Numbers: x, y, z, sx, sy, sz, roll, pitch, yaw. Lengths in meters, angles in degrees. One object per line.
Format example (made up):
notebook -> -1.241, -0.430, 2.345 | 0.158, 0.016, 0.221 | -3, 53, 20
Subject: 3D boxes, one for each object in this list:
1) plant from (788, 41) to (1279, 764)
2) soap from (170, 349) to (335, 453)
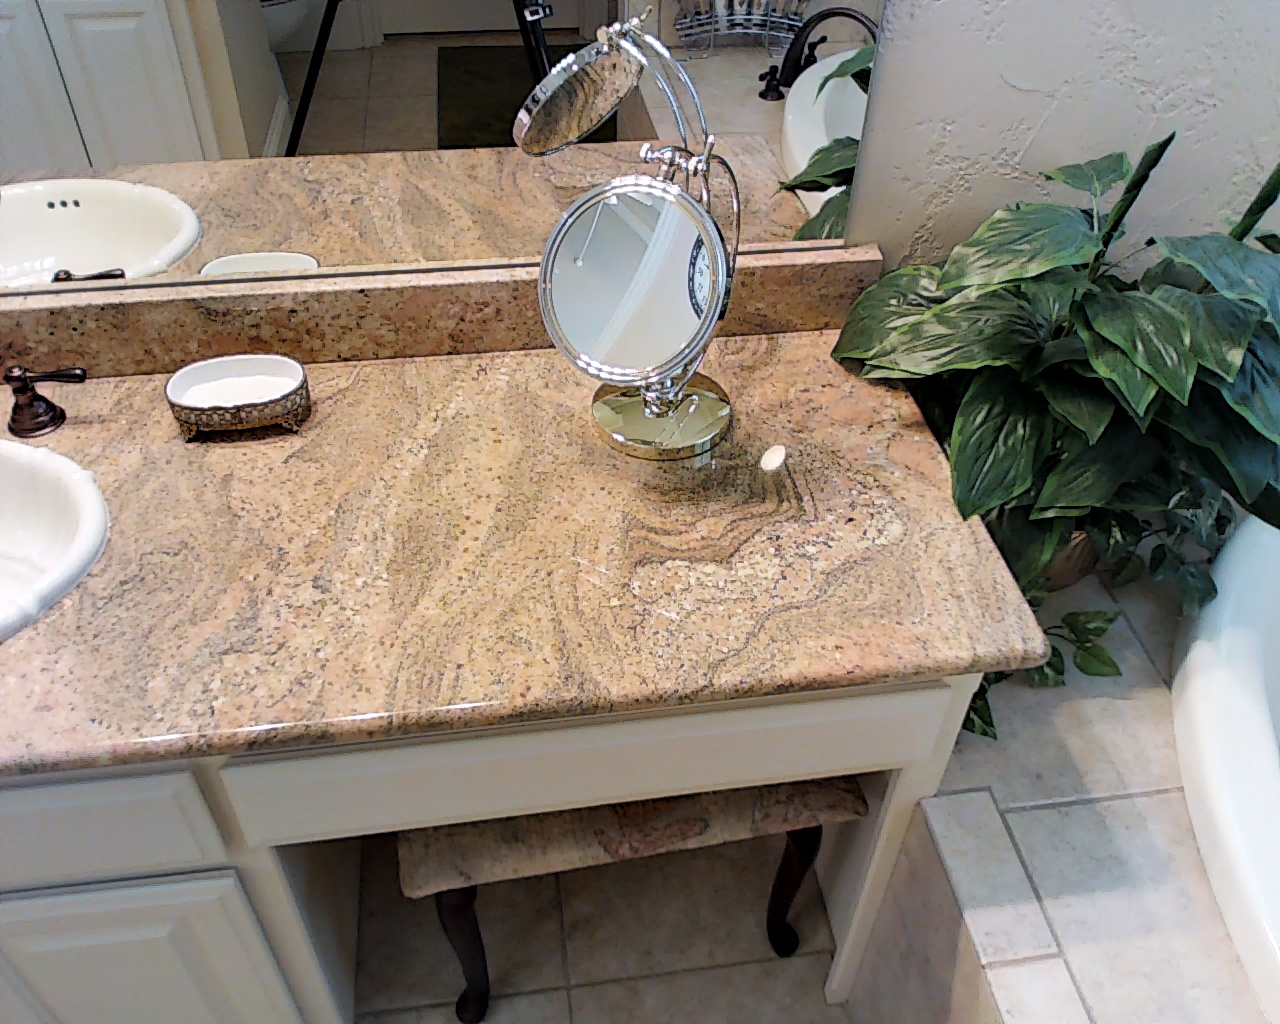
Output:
plant -> 0.550, -0.130, 1.250 | 0.570, 0.640, 0.490 | -5, 42, -7
soap -> -0.440, -0.130, 1.230 | 0.160, 0.040, 0.130 | -5, 42, -7
